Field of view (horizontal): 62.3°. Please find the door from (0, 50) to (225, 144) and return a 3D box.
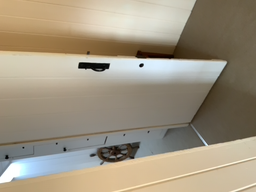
[{"bbox_3d":[-0.130,0.020,1.600,0.040,1.860,0.730,62,144,41],"label":"door"}]
